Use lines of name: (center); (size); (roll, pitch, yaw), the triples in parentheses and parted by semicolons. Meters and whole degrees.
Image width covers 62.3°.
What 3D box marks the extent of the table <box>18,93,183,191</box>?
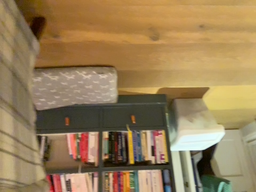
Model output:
table: (-0.230, 0.570, 2.010); (1.260, 1.050, 0.550); (-1, 155, -5)

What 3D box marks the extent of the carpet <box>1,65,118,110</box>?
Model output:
carpet: (-0.470, -0.050, 1.670); (0.770, 0.130, 0.490); (-1, 155, -3)
